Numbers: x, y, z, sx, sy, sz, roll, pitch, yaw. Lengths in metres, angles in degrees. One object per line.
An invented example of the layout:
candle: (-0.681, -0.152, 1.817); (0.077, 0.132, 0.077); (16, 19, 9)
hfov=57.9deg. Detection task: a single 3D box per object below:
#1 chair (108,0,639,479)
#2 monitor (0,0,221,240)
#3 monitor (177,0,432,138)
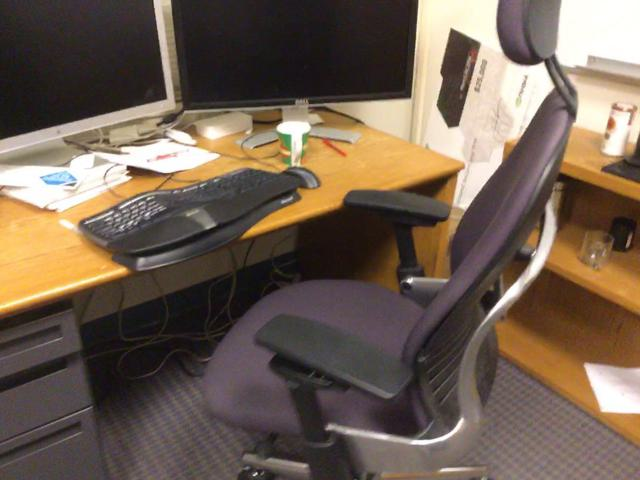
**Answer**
chair: (0.140, 0.130, 1.130); (0.660, 1.330, 0.690); (24, 34, 36)
monitor: (-0.610, -0.380, 1.290); (0.280, 0.580, 0.780); (21, 32, 31)
monitor: (-0.050, -0.590, 1.650); (0.680, 0.530, 0.210); (-5, 28, -14)
